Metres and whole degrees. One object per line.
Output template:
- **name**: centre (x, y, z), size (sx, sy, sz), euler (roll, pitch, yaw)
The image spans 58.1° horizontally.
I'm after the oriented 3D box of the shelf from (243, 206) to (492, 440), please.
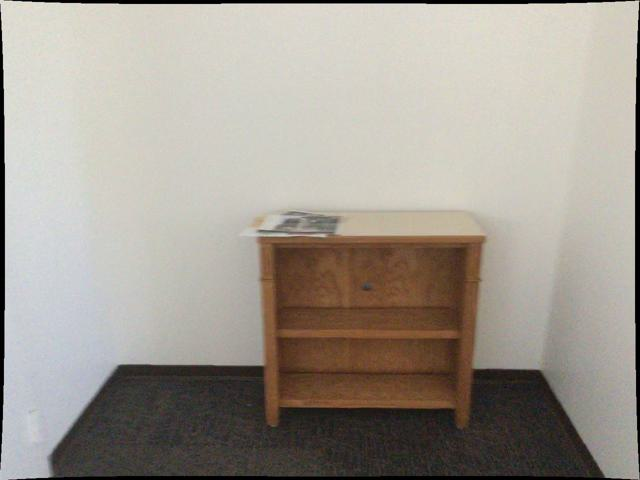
- **shelf**: centre (0.160, 0.300, 2.190), size (0.819, 0.781, 0.360), euler (1, 18, 3)
